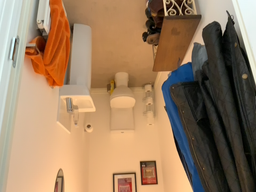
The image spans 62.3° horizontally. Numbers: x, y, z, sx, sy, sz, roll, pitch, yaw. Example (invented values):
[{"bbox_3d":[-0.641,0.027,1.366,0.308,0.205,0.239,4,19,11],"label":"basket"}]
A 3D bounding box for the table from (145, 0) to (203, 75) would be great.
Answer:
[{"bbox_3d":[0.340,-0.570,1.850,0.260,0.470,0.790,-2,160,-3],"label":"table"}]
